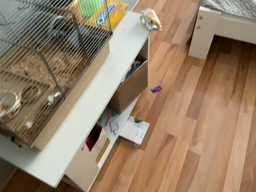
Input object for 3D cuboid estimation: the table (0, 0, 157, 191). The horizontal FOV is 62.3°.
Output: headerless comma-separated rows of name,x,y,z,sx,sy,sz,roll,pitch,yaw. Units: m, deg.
table,-0.200,-0.010,1.010,0.390,0.410,0.810,20,59,16
